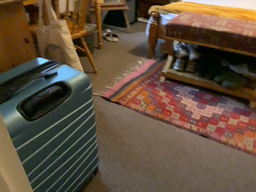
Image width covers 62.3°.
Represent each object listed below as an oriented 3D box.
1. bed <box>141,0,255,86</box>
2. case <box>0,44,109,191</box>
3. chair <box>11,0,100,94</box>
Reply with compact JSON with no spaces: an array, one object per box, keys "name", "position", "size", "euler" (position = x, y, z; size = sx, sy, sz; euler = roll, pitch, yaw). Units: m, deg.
[{"name":"bed","position":[1.300,-0.910,2.690],"size":[1.500,0.500,2.050],"euler":[18,38,22]},{"name":"case","position":[-0.360,0.190,0.910],"size":[0.350,0.640,0.460],"euler":[17,37,21]},{"name":"chair","position":[-0.580,-0.520,1.830],"size":[0.460,0.780,0.450],"euler":[20,38,25]}]
